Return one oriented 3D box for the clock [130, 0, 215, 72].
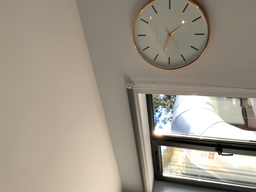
[{"bbox_3d":[0.260,-0.350,1.290,0.030,0.460,0.440,-65,-27,-50],"label":"clock"}]
